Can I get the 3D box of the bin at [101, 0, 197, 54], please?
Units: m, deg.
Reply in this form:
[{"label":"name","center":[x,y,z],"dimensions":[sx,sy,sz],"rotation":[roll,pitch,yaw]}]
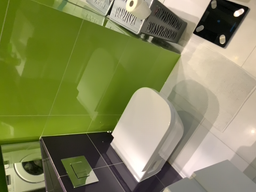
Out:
[{"label":"bin","center":[0.170,-0.590,1.620],"dimensions":[0.380,0.580,0.270],"rotation":[48,118,36]}]
